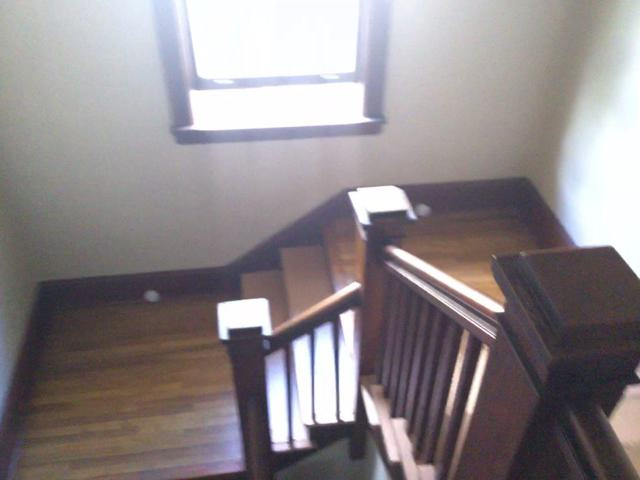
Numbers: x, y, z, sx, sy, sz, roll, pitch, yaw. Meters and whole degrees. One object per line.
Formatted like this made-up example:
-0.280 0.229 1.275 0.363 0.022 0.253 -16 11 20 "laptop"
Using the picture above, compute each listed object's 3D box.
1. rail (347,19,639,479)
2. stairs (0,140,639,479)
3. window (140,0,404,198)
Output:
0.780 0.440 1.840 1.190 1.870 1.240 -5 35 -5 "rail"
-0.060 0.710 2.700 2.920 1.360 2.100 -5 35 -6 "stairs"
-0.210 -1.100 2.600 1.100 1.730 0.400 -8 35 -4 "window"
